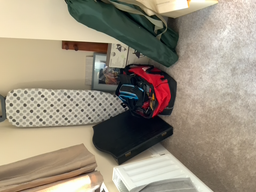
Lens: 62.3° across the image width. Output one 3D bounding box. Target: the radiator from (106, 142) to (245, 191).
[{"bbox_3d":[0.380,0.640,1.060,0.980,0.620,0.160,41,129,51],"label":"radiator"}]
